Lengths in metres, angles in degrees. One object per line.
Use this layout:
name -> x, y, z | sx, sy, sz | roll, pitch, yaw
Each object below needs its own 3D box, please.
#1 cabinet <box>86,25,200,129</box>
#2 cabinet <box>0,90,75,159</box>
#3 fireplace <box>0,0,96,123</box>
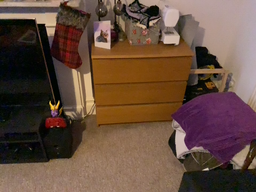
cabinet -> 0.090, -0.180, 2.060 | 0.860, 0.800, 0.600 | 0, 37, -3
cabinet -> -1.080, 0.230, 1.770 | 1.160, 0.400, 0.410 | 0, 37, -3
fireplace -> -1.060, -0.310, 1.880 | 1.460, 1.130, 0.390 | 0, 37, -3
